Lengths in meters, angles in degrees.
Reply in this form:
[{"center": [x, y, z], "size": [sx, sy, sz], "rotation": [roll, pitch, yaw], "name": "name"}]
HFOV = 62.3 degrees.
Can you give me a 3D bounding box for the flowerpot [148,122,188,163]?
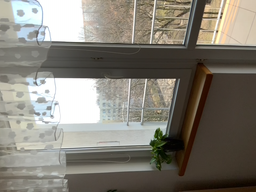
[{"center": [0.320, 0.380, 1.770], "size": [0.250, 0.250, 0.210], "rotation": [-102, 13, -59], "name": "flowerpot"}]
